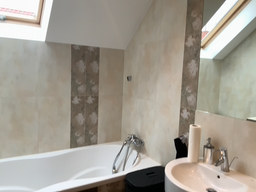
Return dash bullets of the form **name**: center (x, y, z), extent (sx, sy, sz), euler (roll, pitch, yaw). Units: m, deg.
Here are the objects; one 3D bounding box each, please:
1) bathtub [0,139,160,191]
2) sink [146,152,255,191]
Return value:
- **bathtub**: center (-0.710, 0.900, 1.900), extent (1.890, 0.590, 0.790), euler (-1, 7, -32)
- **sink**: center (0.480, 0.560, 1.320), extent (0.480, 0.170, 0.570), euler (-1, 7, -33)
